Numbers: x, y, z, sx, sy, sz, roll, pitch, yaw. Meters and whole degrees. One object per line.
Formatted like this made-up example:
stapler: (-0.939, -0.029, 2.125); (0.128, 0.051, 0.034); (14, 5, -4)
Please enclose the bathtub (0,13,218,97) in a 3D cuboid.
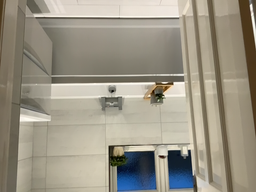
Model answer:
bathtub: (-0.160, -0.330, 1.990); (1.670, 0.560, 0.690); (-1, 171, -3)
